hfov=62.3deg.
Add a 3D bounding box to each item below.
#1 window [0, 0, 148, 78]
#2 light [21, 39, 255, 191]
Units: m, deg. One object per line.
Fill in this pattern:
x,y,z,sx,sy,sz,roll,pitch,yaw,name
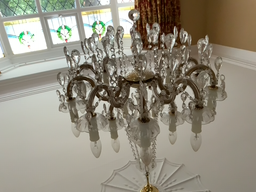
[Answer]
-1.090,-1.510,3.030,2.620,2.040,0.610,-14,-154,-16,window
0.060,0.220,0.930,0.630,0.750,0.670,-24,-159,-32,light
